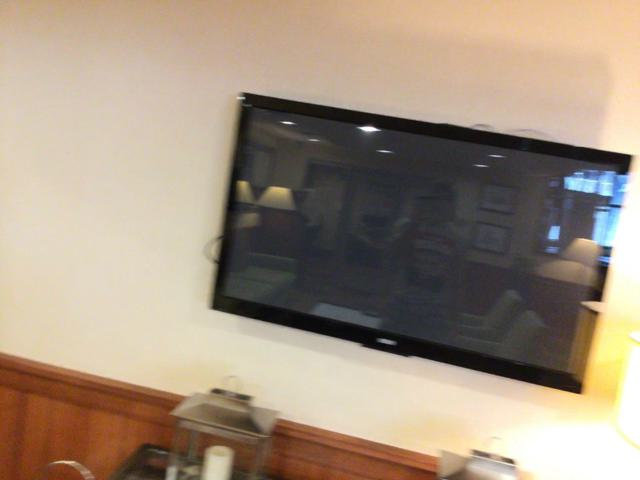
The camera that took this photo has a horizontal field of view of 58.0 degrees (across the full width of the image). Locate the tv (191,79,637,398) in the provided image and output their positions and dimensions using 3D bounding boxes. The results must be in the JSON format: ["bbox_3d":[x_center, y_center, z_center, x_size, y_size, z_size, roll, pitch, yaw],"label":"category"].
[{"bbox_3d":[0.270,-0.030,1.770,1.150,0.720,0.200,12,-10,11],"label":"tv"}]
